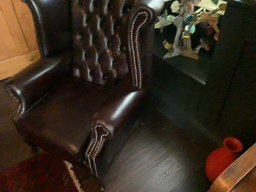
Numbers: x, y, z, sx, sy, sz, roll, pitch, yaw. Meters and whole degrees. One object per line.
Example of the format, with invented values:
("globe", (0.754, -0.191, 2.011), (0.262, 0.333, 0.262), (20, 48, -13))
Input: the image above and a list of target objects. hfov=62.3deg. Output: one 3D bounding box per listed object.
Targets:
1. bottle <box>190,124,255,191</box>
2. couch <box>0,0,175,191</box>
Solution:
("bottle", (0.570, 0.400, 1.270), (0.240, 0.370, 0.220), (-14, 44, -13))
("couch", (-0.290, -0.080, 1.370), (0.800, 0.980, 0.840), (21, 47, 23))
